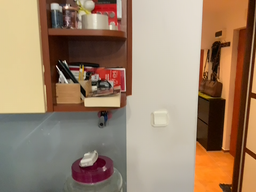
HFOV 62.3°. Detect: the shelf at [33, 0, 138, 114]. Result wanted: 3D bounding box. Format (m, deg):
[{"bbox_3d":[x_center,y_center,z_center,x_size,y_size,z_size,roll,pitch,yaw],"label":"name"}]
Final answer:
[{"bbox_3d":[-0.120,-0.330,0.720,0.280,0.720,0.320,0,10,-3],"label":"shelf"}]
